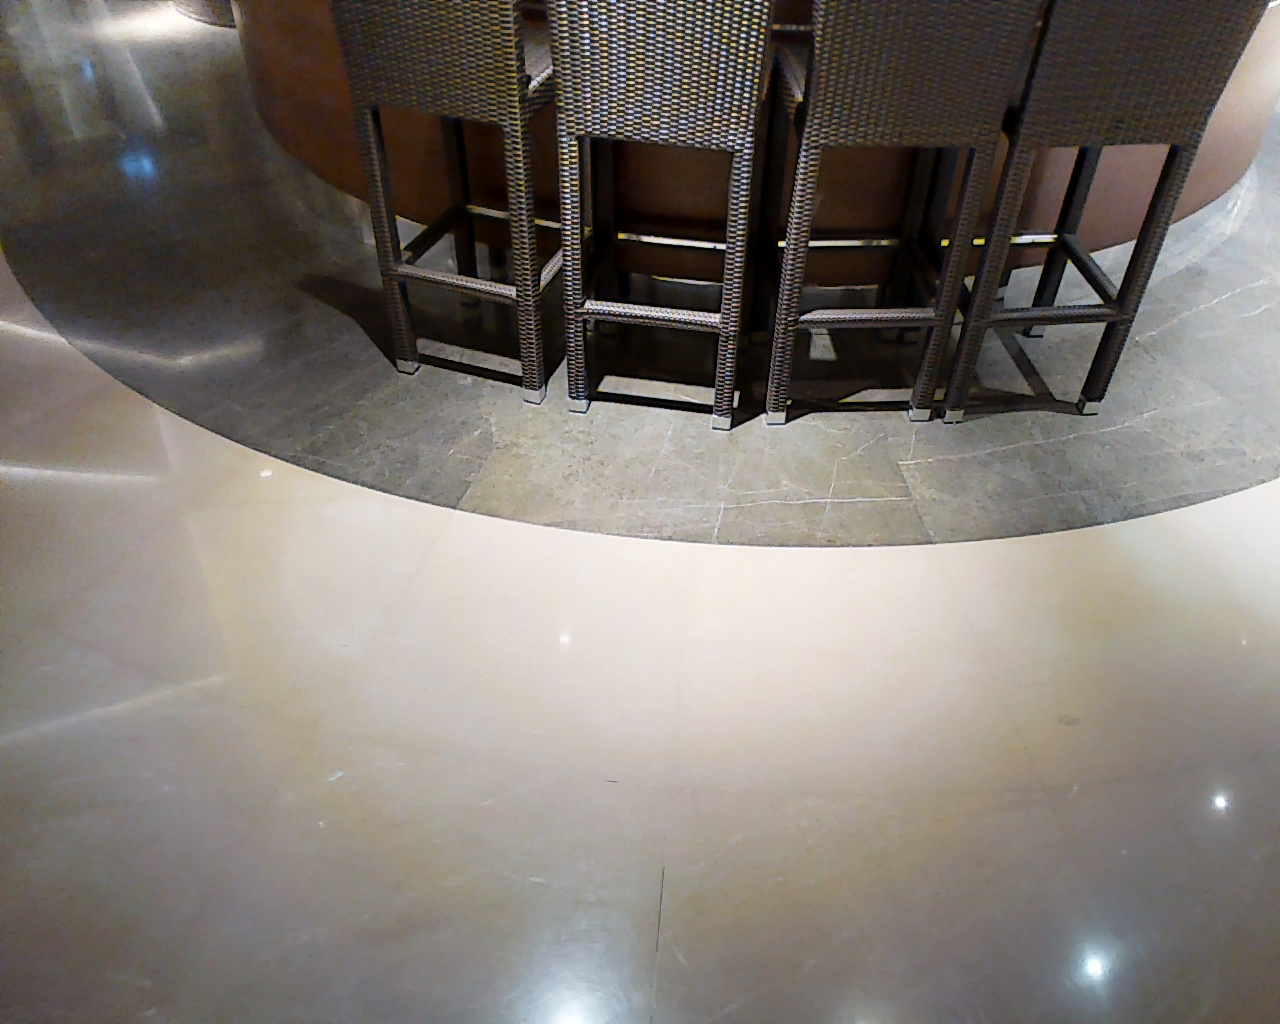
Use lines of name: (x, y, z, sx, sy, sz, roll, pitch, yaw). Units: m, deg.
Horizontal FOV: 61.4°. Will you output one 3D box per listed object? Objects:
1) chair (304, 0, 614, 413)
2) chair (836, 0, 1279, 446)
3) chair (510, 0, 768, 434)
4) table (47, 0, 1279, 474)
chair: (-0.370, -0.890, 2.490, 0.450, 1.160, 0.530, 14, 44, 14)
chair: (0.870, -0.770, 2.430, 0.570, 1.100, 0.510, -8, 43, -9)
chair: (0.020, -0.820, 2.410, 0.430, 1.160, 0.530, 8, 43, 8)
table: (0.350, -2.240, 4.030, 4.010, 1.120, 4.230, -11, 44, -12)
